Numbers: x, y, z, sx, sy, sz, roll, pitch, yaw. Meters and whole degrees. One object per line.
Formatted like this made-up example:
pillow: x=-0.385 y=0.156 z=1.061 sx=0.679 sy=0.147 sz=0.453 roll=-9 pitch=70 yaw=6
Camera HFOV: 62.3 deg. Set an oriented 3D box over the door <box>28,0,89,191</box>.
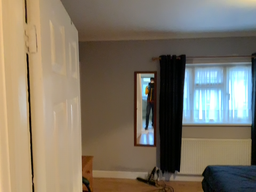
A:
door: x=-0.260 y=0.560 z=1.010 sx=0.040 sy=1.880 sz=0.800 roll=-1 pitch=3 yaw=-3
